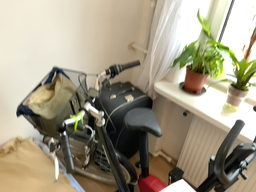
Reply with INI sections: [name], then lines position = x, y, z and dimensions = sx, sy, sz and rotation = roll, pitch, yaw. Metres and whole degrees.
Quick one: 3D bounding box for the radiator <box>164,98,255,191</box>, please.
[radiator]
position = 0.690, 0.480, 1.560
dimensions = 0.190, 0.590, 0.820
rotation = -17, 40, -37
